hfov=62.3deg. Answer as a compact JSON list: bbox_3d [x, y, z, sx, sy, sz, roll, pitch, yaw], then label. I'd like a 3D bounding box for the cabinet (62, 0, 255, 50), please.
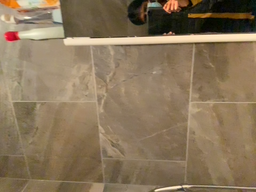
[{"bbox_3d":[0.150,-0.430,0.680,0.130,0.730,0.520,-74,-17,-68],"label":"cabinet"}]
